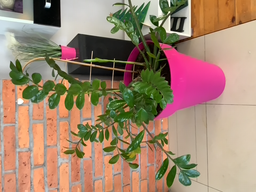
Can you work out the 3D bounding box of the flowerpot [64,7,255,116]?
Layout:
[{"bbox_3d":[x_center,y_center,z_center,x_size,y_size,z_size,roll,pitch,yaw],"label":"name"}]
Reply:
[{"bbox_3d":[0.240,-0.140,1.270,0.680,1.040,0.360,3,95,57],"label":"flowerpot"}]
